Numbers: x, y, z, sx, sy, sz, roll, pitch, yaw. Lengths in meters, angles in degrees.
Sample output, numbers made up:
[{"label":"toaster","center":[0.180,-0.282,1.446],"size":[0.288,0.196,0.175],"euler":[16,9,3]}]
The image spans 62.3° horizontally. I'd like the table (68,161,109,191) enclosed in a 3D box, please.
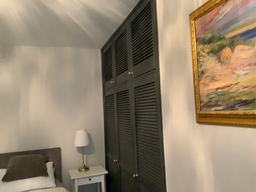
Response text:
[{"label":"table","center":[-0.530,1.310,2.850],"size":[0.480,0.700,0.390],"euler":[-2,-3,-20]}]
